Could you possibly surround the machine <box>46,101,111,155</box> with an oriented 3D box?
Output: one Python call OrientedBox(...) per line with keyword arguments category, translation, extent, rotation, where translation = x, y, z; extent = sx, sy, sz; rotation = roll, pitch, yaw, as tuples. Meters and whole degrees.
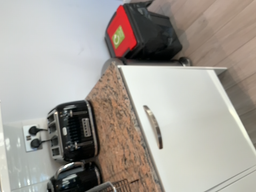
OrientedBox(category="machine", translation=(-0.290, 0.180, 1.210), extent=(0.250, 0.260, 0.200), rotation=(-42, 61, 48))
